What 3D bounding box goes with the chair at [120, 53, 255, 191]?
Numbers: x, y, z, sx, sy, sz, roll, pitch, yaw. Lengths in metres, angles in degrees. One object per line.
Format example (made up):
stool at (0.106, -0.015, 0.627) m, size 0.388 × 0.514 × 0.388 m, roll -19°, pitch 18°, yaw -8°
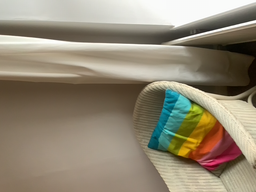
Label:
chair at (0.480, 0.230, 1.120) m, size 0.670 × 0.770 × 0.650 m, roll -117°, pitch 31°, yaw -43°
